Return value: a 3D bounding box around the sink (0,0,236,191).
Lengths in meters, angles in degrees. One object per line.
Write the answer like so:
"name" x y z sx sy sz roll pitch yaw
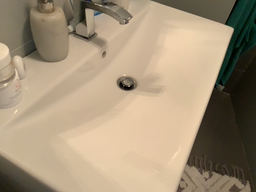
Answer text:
"sink" 0.020 -0.050 0.640 0.440 0.180 0.760 24 48 13
